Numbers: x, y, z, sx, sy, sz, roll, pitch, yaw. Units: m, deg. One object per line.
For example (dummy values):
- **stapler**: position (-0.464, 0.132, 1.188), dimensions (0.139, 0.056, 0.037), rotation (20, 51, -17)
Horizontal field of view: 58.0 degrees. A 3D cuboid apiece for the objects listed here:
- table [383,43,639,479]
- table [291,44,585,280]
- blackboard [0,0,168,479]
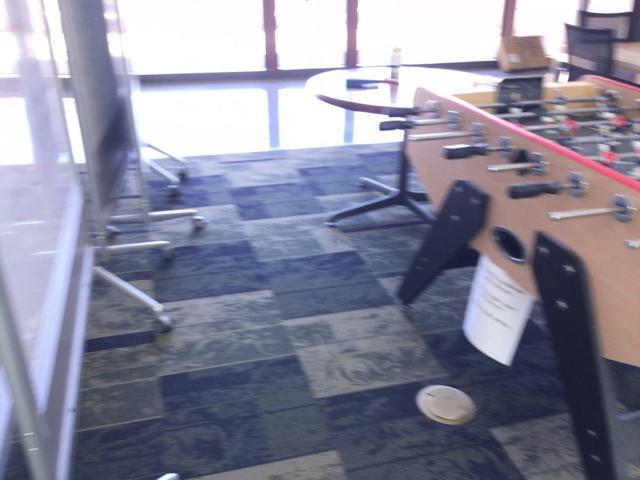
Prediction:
- **table**: position (0.870, 0.040, 1.780), dimensions (0.860, 0.920, 1.480), rotation (-11, 30, -11)
- **table**: position (0.520, -0.500, 3.100), dimensions (1.090, 0.760, 1.140), rotation (-10, 29, -10)
- **blackboard**: position (-0.720, -0.240, 1.540), dimensions (0.280, 1.730, 1.410), rotation (-10, 29, -10)
